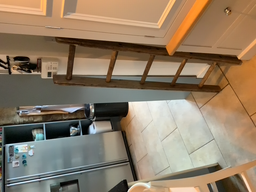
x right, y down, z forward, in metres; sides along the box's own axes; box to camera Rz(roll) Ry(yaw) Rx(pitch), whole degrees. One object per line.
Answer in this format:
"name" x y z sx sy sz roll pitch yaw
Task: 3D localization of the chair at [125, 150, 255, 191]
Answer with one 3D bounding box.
"chair" 0.510 0.680 1.340 0.380 0.900 0.440 124 136 -51
